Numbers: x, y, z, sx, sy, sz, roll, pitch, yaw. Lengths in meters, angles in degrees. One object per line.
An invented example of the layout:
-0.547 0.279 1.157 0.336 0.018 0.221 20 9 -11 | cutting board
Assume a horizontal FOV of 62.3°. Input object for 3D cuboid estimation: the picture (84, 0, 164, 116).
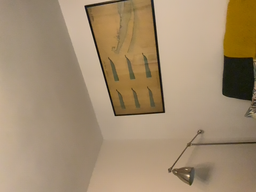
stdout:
0.020 -0.320 2.270 0.060 0.650 1.310 -76 -20 -54 | picture
